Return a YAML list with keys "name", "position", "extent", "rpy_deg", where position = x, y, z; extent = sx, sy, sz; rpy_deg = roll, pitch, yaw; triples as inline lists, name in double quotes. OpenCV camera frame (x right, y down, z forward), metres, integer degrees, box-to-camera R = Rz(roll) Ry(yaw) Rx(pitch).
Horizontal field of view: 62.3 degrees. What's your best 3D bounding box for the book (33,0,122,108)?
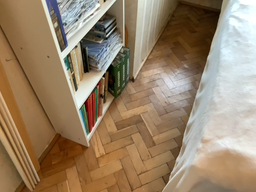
- name: "book"
  position: [-0.230, -0.250, 1.170]
  extent: [0.180, 0.270, 0.560]
  rpy_deg: [19, 53, 12]
